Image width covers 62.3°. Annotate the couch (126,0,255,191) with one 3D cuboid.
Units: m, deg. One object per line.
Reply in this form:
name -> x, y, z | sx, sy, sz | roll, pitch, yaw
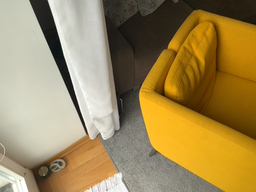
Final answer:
couch -> 0.520, 0.070, 1.260 | 0.770, 0.750, 0.780 | 26, 61, 16
